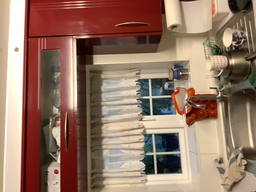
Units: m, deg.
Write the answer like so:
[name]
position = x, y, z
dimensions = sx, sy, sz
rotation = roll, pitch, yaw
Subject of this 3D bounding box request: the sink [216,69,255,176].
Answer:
[sink]
position = 0.760, 0.160, 1.250
dimensions = 0.520, 0.200, 0.550
rotation = 95, 173, -81
